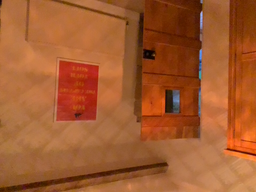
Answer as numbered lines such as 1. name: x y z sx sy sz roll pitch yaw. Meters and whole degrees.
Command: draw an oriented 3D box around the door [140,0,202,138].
1. door: 0.540 -0.470 2.540 0.800 1.890 0.060 3 179 -25
